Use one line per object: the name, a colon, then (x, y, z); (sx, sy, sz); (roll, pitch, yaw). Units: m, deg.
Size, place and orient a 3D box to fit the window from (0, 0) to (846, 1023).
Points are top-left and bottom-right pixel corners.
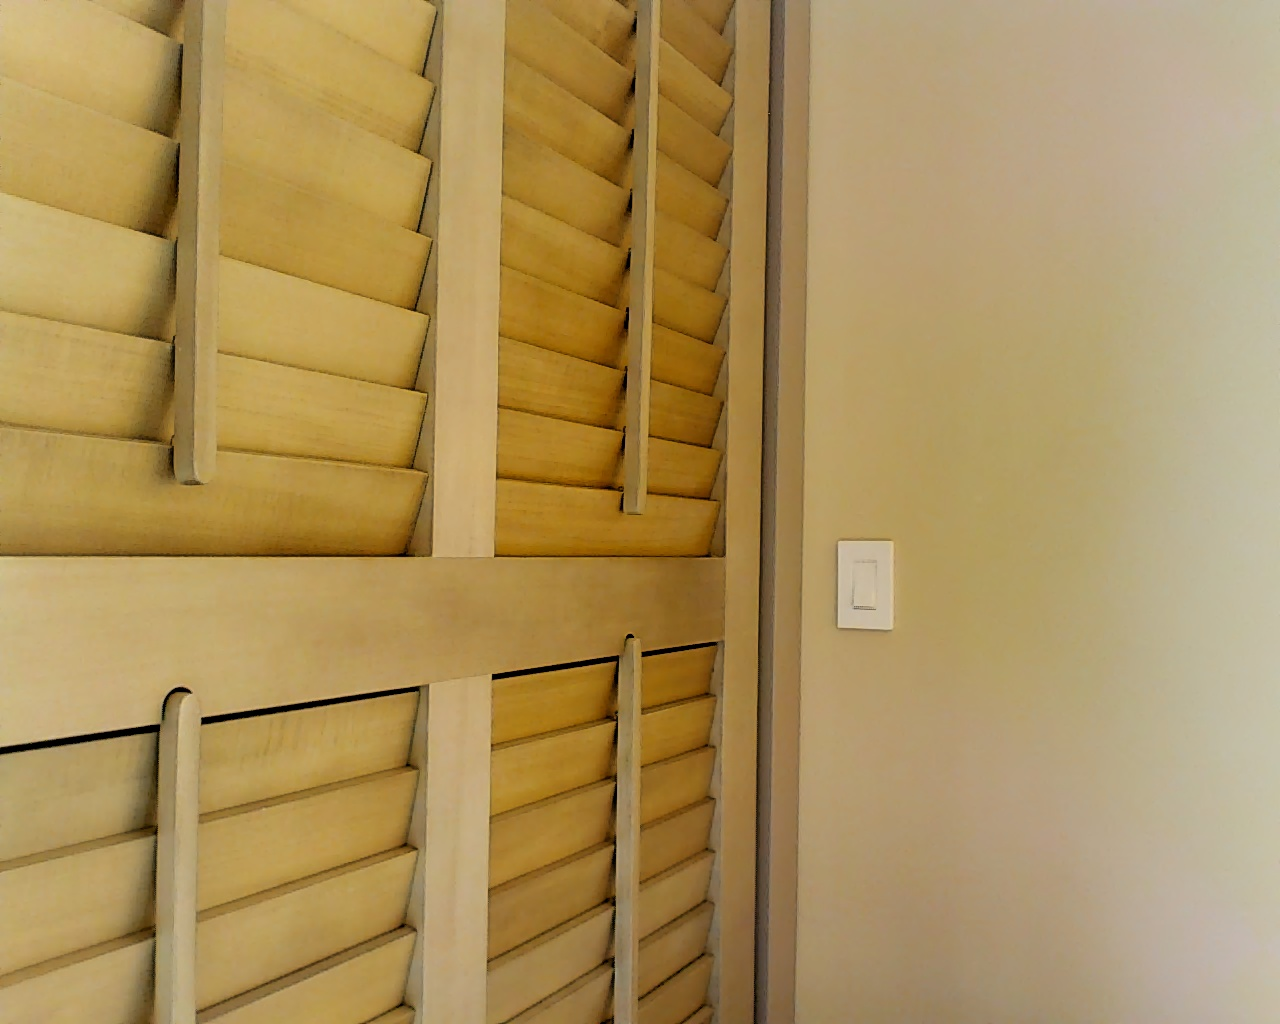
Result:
window: (-0.110, 0.020, 0.940); (0.080, 2.470, 1.370); (0, -2, 31)
